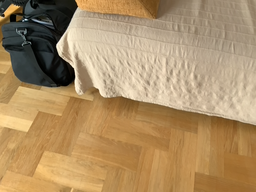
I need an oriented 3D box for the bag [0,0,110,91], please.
[{"bbox_3d":[-0.410,-0.400,1.170,0.430,0.350,0.560,15,57,10],"label":"bag"}]
